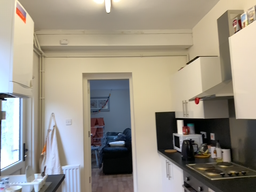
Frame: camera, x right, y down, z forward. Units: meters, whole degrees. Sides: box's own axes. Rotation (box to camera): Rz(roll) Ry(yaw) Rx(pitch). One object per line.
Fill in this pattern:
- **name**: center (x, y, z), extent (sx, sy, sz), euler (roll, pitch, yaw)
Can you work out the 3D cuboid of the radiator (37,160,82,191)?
- **radiator**: center (-0.990, 1.380, 3.110), extent (0.590, 0.760, 0.170), euler (-4, -5, -7)
